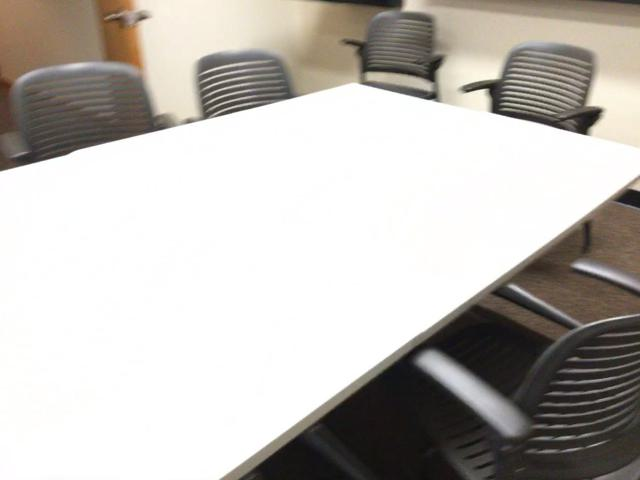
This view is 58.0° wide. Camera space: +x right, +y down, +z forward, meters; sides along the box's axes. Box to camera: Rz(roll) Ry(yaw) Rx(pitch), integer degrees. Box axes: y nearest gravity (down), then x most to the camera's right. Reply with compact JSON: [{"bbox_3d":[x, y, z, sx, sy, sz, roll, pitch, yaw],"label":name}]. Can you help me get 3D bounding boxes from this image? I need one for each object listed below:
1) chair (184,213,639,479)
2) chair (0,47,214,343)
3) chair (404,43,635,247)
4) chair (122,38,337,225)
[{"bbox_3d":[0.190,0.410,1.150,0.650,0.620,0.590,-20,35,-36],"label":"chair"},{"bbox_3d":[-0.800,-0.210,2.060,0.640,0.800,0.620,-11,30,-24],"label":"chair"},{"bbox_3d":[0.780,-0.430,2.380,0.480,0.610,0.640,-20,35,-36],"label":"chair"},{"bbox_3d":[-0.330,-0.450,2.210,0.620,0.510,0.460,-20,35,-36],"label":"chair"}]
